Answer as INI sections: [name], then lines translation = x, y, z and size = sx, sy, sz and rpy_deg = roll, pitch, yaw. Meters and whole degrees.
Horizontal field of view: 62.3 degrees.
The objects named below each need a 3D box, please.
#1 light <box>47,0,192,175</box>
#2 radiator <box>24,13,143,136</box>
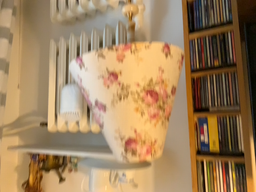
[light]
translation = -0.010, -0.500, 0.850
size = 0.380, 1.450, 0.400
rpy_deg = -4, 173, 26
[radiator]
translation = -0.270, -0.080, 1.240
size = 0.660, 0.590, 0.220
rpy_deg = -4, 173, 25
